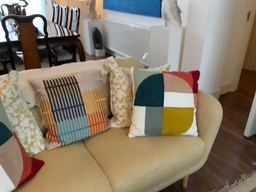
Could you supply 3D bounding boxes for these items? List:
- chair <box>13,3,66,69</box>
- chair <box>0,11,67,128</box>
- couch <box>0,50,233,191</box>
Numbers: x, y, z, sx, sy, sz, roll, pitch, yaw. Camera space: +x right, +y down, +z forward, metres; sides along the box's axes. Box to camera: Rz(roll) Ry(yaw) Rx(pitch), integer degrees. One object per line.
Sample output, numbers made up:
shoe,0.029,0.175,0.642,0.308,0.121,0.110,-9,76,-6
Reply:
chair,-1.590,-1.120,3.850,0.650,1.040,0.540,-14,29,-28
chair,-1.060,-0.320,2.230,0.560,1.010,0.620,-13,29,-25
couch,-0.320,0.290,1.280,1.470,0.780,0.910,-14,30,-28
